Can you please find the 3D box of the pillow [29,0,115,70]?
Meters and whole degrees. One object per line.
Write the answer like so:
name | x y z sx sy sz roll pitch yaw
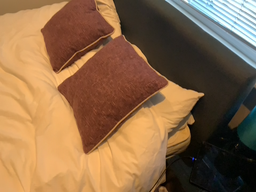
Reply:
pillow | -0.370 -0.460 1.400 0.390 0.230 0.490 -20 53 -21

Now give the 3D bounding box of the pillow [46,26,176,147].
pillow | -0.100 -0.080 1.030 0.410 0.220 0.470 -21 54 -22
